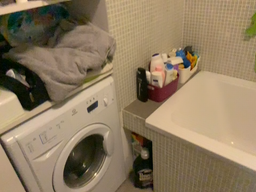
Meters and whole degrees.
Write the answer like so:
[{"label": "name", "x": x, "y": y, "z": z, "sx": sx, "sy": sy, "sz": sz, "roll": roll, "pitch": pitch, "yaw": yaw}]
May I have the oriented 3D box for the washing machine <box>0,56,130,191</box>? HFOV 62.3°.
[{"label": "washing machine", "x": -0.400, "y": 0.300, "z": 1.280, "sx": 0.530, "sy": 0.840, "sz": 0.570, "roll": 20, "pitch": 40, "yaw": 34}]
